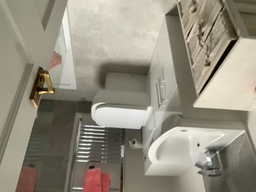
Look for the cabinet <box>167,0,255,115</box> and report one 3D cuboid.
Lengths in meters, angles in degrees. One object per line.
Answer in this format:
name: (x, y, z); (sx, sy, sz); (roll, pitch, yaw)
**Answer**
cabinet: (0.440, -0.380, 1.070); (0.280, 0.830, 0.430); (4, 145, -6)
